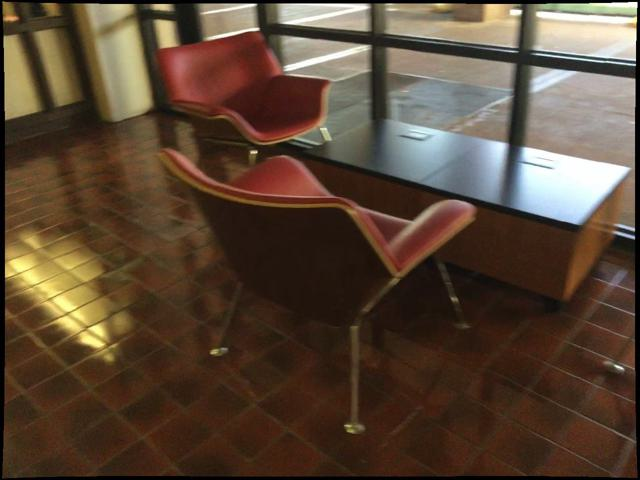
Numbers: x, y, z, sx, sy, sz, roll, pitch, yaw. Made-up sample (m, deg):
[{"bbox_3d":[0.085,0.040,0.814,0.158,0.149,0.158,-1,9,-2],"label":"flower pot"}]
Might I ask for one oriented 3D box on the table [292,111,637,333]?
[{"bbox_3d":[0.598,-0.180,2.650,1.299,0.431,0.719,22,39,38],"label":"table"}]
